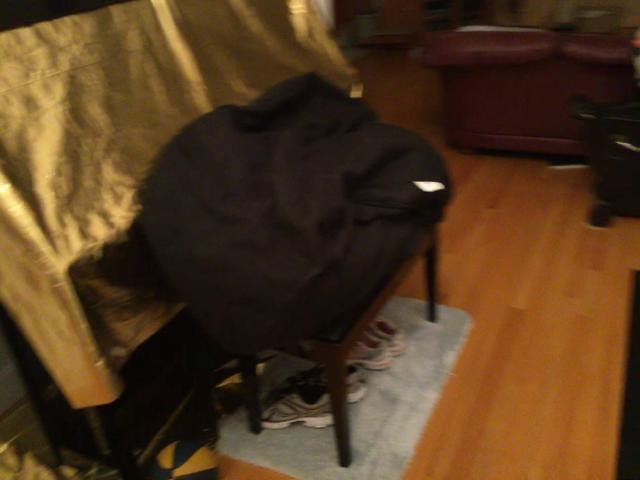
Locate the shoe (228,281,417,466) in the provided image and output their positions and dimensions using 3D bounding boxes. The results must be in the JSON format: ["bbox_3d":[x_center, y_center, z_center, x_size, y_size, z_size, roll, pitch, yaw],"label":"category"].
[{"bbox_3d":[0.040,0.400,1.930,0.380,0.150,0.630,9,33,25],"label":"shoe"}]

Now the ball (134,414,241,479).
[{"bbox_3d":[-0.350,0.620,1.560,0.170,0.170,0.190,9,33,25],"label":"ball"}]
